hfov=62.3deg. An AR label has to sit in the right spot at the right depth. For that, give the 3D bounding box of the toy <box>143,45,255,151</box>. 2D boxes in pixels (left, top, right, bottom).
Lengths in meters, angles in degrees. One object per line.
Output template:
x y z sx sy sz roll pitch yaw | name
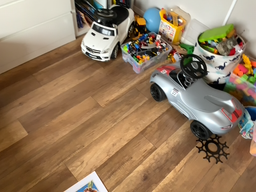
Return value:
0.490 -0.010 1.590 0.390 0.310 0.660 -29 60 -24 | toy

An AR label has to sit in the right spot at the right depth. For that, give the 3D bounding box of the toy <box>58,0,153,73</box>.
-0.200 -0.600 2.000 0.710 0.310 0.440 -29 60 -24 | toy

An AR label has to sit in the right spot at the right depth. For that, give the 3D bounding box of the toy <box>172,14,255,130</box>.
0.790 -0.200 1.650 0.400 0.460 0.700 -35 63 -27 | toy

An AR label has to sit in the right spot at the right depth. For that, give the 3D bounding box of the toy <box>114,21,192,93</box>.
0.200 -0.360 1.880 0.500 0.280 0.420 -29 60 -24 | toy
